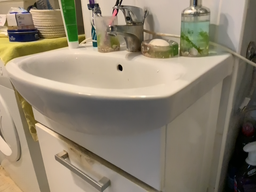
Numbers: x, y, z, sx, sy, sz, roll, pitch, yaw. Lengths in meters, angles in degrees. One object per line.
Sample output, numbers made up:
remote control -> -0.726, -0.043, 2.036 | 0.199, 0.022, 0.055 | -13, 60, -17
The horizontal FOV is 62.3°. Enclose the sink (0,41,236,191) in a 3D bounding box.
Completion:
sink -> -0.060, -0.020, 0.550 | 0.510, 0.150, 0.380 | 17, 30, 37
